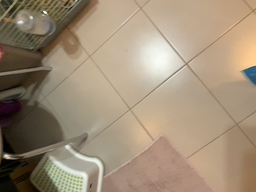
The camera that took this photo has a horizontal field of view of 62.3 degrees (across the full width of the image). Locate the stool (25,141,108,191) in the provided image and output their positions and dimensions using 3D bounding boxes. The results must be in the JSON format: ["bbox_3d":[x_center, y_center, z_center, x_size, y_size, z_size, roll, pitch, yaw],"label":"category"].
[{"bbox_3d":[-0.310,0.430,1.050,0.330,0.130,0.290,18,97,12],"label":"stool"}]
